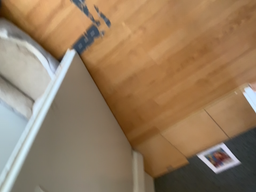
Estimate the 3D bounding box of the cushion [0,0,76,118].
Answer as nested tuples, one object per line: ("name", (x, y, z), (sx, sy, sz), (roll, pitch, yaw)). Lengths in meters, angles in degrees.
("cushion", (-0.580, -0.170, 1.070), (0.330, 0.190, 0.500), (-33, 120, 24))
